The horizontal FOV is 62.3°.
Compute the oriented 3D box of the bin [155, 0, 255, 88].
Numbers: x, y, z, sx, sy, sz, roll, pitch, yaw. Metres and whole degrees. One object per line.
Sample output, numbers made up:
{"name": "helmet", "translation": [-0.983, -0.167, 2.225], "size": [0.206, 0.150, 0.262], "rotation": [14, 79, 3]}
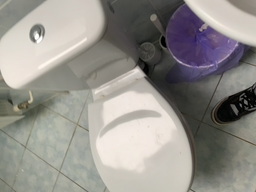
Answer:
{"name": "bin", "translation": [0.340, -0.240, 0.960], "size": [0.280, 0.260, 0.310], "rotation": [-24, 80, 20]}

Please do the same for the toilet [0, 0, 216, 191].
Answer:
{"name": "toilet", "translation": [0.000, 0.060, 0.810], "size": [0.370, 0.730, 0.710], "rotation": [-25, 80, 21]}
